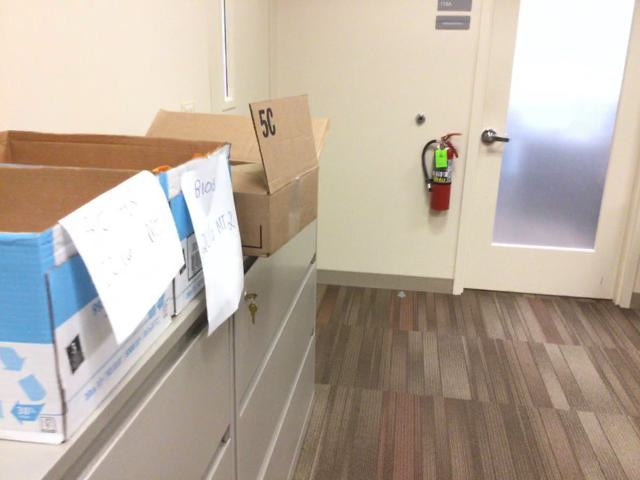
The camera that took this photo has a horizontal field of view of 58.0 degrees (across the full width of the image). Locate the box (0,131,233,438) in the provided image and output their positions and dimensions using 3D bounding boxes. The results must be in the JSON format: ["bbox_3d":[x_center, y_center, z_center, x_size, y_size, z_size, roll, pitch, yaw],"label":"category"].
[{"bbox_3d":[-0.400,0.030,0.700,0.500,0.270,0.320,-3,13,5],"label":"box"}]

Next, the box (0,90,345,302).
[{"bbox_3d":[-0.260,-0.140,1.360,0.590,0.360,0.620,-3,13,5],"label":"box"}]

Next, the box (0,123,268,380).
[{"bbox_3d":[-0.370,-0.010,0.990,0.470,0.330,0.410,-3,13,5],"label":"box"}]
